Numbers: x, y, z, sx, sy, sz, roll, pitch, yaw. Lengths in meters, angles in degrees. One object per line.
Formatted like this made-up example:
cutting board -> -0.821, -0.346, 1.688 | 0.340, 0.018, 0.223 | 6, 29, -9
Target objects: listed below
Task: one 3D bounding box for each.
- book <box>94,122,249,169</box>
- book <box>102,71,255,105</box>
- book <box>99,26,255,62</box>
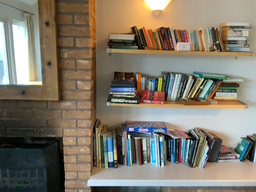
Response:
book -> 0.370, 0.450, 1.990 | 1.330, 0.310, 0.300 | 1, 12, -1
book -> 0.440, -0.080, 1.950 | 1.330, 0.250, 0.190 | 2, 12, 0
book -> 0.420, -0.450, 1.850 | 1.320, 0.250, 0.190 | 1, 12, -1
